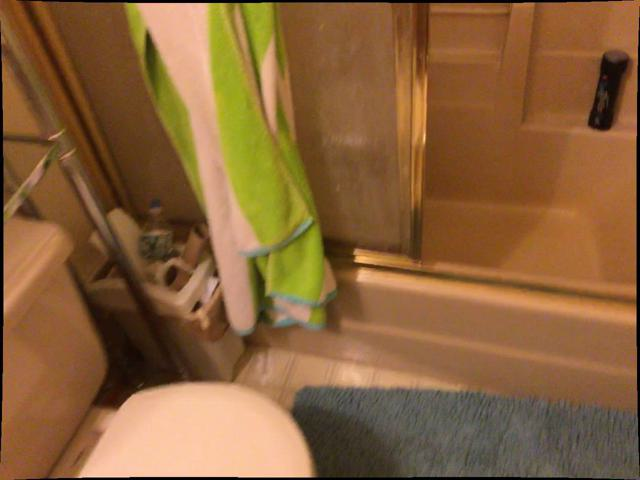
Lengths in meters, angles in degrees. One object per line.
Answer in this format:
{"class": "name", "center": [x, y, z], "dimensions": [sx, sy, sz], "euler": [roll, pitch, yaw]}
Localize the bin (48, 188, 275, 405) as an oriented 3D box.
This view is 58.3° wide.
{"class": "bin", "center": [-0.360, 0.150, 1.440], "dimensions": [0.350, 0.510, 0.220], "euler": [6, 45, 17]}
